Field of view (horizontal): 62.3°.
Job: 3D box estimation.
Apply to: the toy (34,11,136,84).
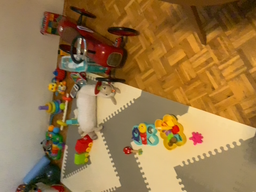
[{"bbox_3d":[-0.390,-0.390,1.680,0.860,0.280,0.440,16,102,39],"label":"toy"}]
